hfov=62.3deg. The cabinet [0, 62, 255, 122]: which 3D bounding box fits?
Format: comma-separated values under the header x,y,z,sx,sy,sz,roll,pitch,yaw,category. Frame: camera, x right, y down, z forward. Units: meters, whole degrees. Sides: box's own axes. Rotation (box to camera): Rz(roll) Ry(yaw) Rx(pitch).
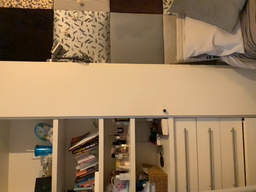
x,y,z,sx,sy,sz,roll,pitch,yaw,category
0.100,0.000,1.920,0.510,2.440,0.440,143,128,-81,cabinet
